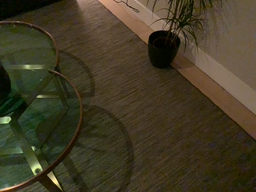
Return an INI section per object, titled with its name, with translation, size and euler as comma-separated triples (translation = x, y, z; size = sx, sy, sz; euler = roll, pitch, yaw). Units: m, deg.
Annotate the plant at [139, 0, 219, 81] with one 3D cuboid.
[plant]
translation = 0.350, -0.580, 1.550
size = 0.320, 0.870, 0.370
euler = -26, 58, -21
